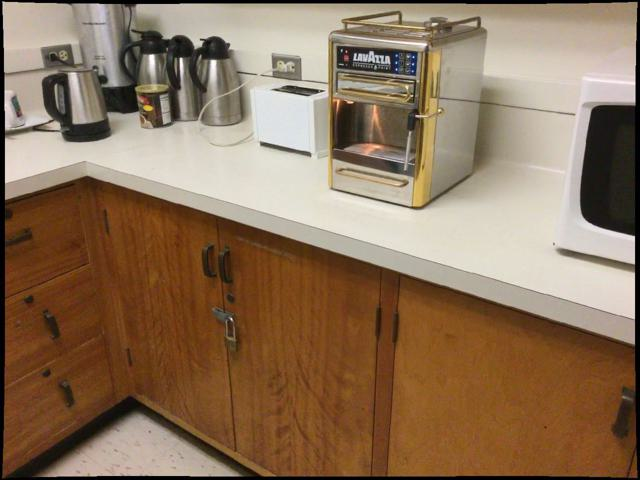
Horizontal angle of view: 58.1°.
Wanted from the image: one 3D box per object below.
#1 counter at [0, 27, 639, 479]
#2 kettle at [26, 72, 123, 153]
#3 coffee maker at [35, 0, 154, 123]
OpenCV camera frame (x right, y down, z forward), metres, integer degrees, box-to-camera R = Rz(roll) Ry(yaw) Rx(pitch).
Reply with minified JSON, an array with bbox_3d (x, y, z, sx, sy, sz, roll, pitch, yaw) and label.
[{"bbox_3d":[-0.429,0.030,0.790,2.506,0.391,2.329,15,29,32],"label":"counter"},{"bbox_3d":[-0.718,-0.381,1.700,0.120,0.190,0.200,15,29,32],"label":"kettle"},{"bbox_3d":[-0.778,-0.642,2.000,0.300,0.401,0.190,15,29,32],"label":"coffee maker"}]
